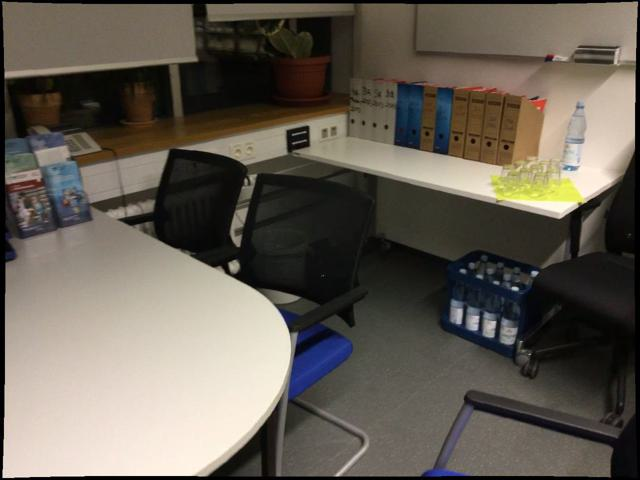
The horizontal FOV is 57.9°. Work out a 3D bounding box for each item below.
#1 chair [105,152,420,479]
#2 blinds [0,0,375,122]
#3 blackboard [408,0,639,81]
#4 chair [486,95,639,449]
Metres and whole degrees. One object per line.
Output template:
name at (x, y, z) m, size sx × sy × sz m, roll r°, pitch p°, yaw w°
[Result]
chair at (-0.170, 0.260, 1.880) m, size 0.700 × 0.861 × 0.620 m, roll 21°, pitch 32°, yaw 40°
blinds at (-0.649, -1.492, 2.410) m, size 0.360 × 1.651 × 2.339 m, roll 21°, pitch 32°, yaw 40°
blackboard at (0.949, -1.251, 2.470) m, size 1.249 × 1.001 × 0.150 m, roll 21°, pitch 32°, yaw 40°
chair at (1.209, 0.070, 2.170) m, size 0.740 × 1.021 × 0.790 m, roll 21°, pitch 32°, yaw 40°
